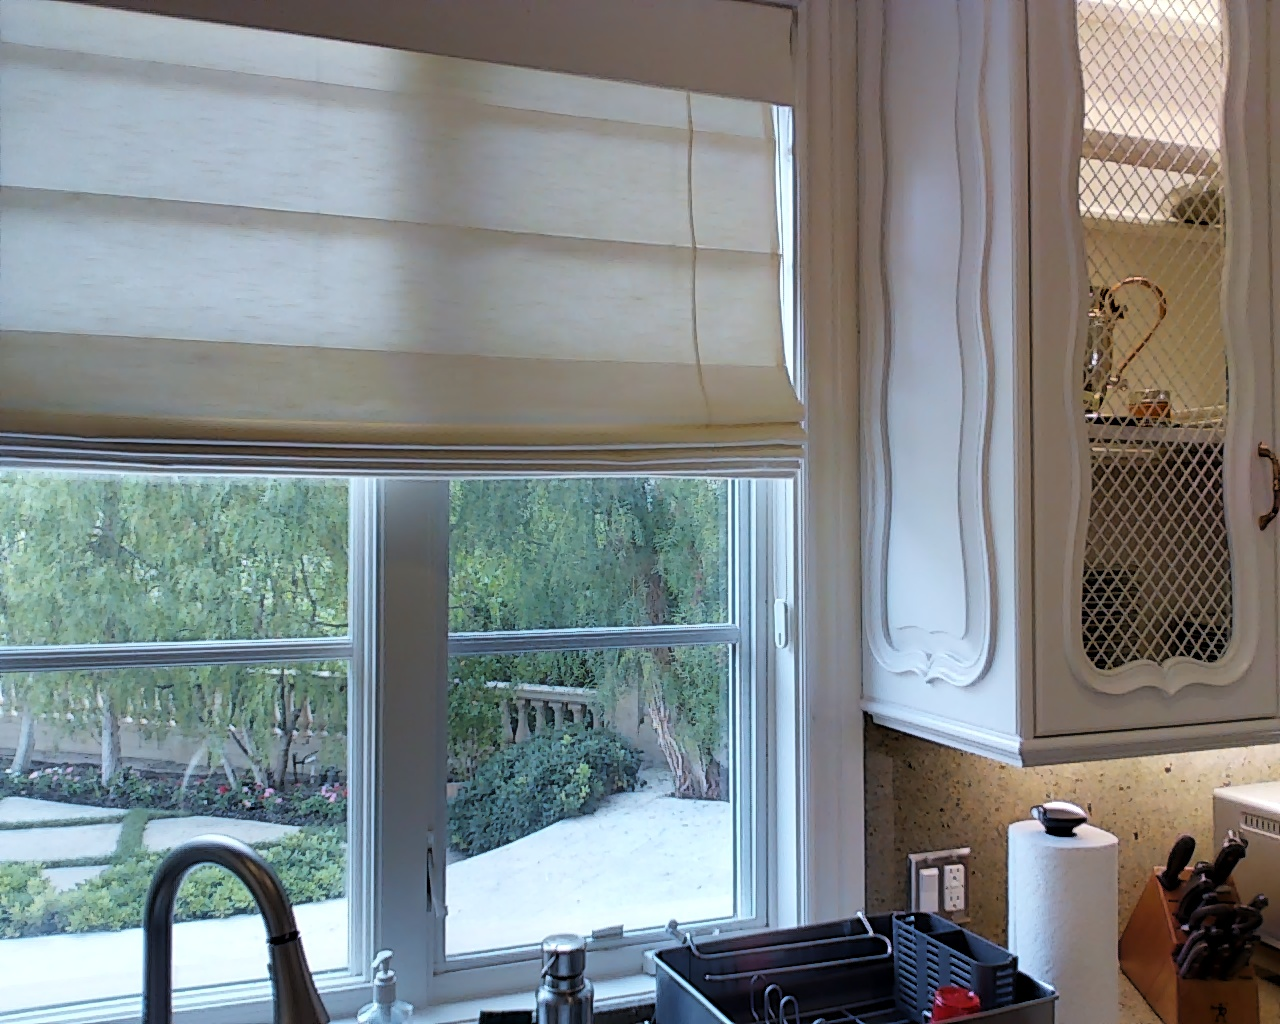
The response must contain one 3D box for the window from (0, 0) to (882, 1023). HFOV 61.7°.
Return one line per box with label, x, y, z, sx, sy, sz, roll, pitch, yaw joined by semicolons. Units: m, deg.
window;-0.610;0.020;1.360;1.930;1.430;0.240;0;-1;-18
